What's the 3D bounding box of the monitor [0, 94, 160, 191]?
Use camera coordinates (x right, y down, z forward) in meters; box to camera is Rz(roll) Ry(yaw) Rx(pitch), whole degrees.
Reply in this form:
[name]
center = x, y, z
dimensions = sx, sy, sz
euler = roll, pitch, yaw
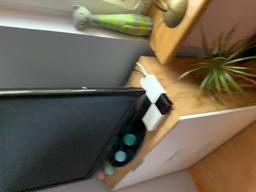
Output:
[monitor]
center = -0.330, 0.310, 1.160
dimensions = 0.960, 0.670, 0.030
euler = -57, 47, 41
